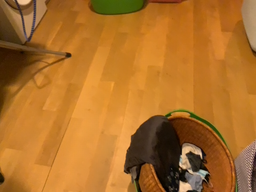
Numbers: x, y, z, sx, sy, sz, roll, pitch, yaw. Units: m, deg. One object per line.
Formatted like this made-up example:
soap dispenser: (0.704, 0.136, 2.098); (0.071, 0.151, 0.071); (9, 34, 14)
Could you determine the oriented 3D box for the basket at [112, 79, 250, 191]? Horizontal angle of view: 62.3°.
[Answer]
basket: (0.240, 0.290, 1.020); (0.480, 0.350, 0.620); (7, 54, 11)
